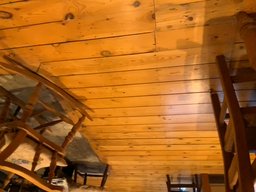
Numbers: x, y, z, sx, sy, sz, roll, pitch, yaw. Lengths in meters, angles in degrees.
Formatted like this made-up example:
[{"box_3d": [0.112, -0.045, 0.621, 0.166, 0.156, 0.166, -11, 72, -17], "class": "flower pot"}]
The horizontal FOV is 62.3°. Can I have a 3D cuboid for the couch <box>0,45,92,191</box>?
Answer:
[{"box_3d": [-0.850, 0.410, 1.430, 0.640, 1.080, 0.800, -24, 133, 32], "class": "couch"}]
